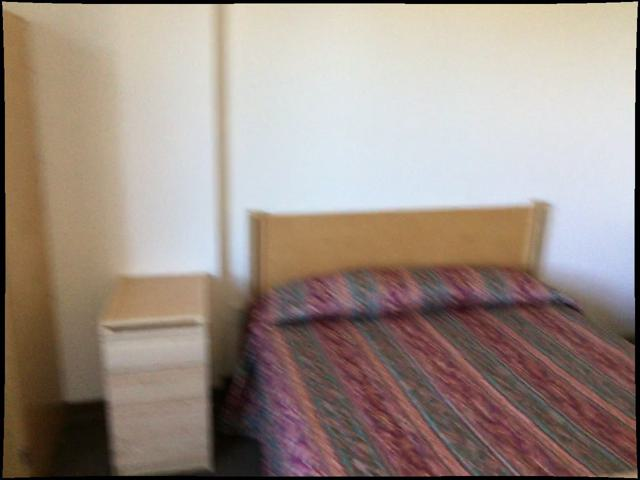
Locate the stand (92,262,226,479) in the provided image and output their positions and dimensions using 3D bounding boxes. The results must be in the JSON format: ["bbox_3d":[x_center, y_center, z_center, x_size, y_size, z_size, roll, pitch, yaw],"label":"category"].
[{"bbox_3d":[-0.659,0.541,2.540,0.450,0.701,0.620,-3,17,-9],"label":"stand"}]
